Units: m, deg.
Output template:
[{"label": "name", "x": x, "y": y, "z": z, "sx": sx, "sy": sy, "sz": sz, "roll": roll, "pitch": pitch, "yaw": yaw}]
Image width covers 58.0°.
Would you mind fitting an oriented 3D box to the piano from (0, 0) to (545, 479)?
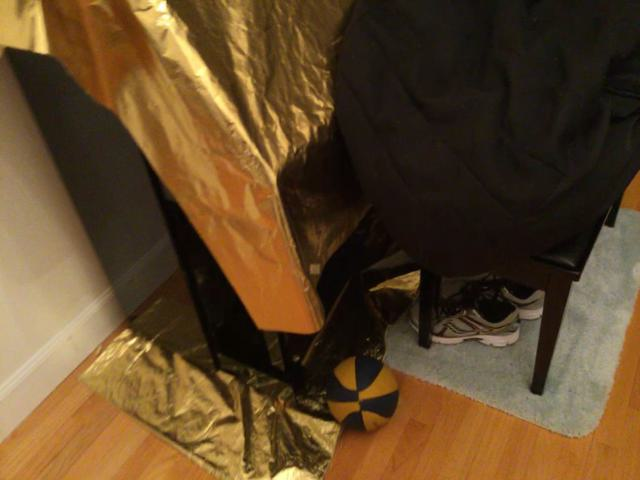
[{"label": "piano", "x": 0.070, "y": -0.470, "z": 1.560, "sx": 0.640, "sy": 1.210, "sz": 1.640, "roll": 17, "pitch": 48, "yaw": 27}]
